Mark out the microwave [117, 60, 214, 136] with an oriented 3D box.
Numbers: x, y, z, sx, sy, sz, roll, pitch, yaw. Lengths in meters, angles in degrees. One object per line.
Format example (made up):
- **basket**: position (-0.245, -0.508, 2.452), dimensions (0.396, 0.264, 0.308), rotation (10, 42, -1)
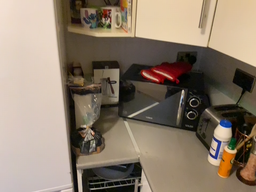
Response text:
- **microwave**: position (0.240, -0.020, 1.310), dimensions (0.500, 0.240, 0.390), rotation (11, 28, 17)
